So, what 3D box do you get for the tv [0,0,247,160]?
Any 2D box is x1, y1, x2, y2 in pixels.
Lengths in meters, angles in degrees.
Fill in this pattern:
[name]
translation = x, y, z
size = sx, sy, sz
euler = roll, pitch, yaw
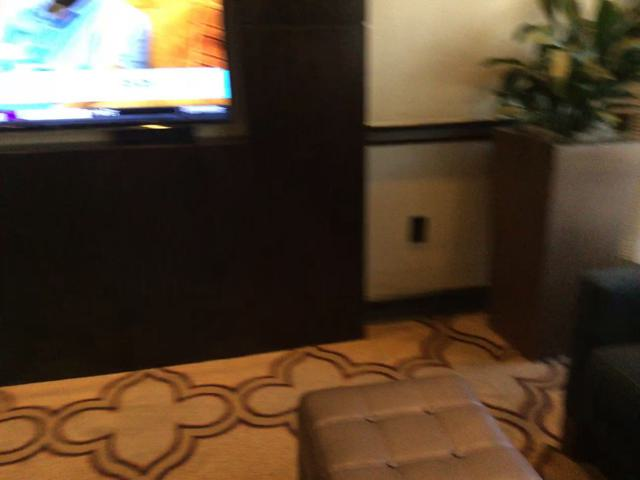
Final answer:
[tv]
translation = -0.930, -0.710, 1.920
size = 1.290, 0.810, 0.390
euler = -5, 19, -12
